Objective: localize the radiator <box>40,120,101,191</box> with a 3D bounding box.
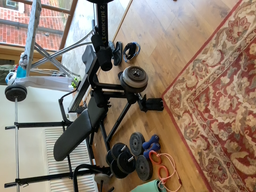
[{"bbox_3d":[-0.650,1.090,2.520,0.140,0.600,1.750,-52,46,43],"label":"radiator"}]
